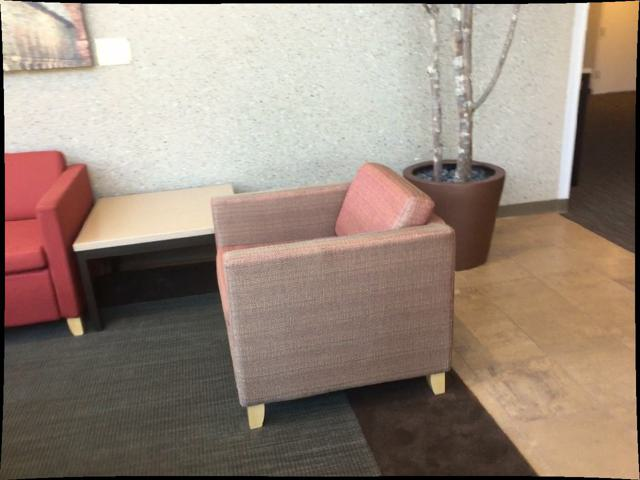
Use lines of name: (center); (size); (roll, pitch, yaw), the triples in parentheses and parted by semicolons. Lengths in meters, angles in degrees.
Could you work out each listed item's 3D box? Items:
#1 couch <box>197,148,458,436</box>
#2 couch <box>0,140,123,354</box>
couch: (-0.010, 0.140, 2.300); (0.829, 0.771, 0.780); (-7, 23, -8)
couch: (-2.077, 0.080, 2.780); (1.937, 0.761, 0.840); (-7, 23, -8)
